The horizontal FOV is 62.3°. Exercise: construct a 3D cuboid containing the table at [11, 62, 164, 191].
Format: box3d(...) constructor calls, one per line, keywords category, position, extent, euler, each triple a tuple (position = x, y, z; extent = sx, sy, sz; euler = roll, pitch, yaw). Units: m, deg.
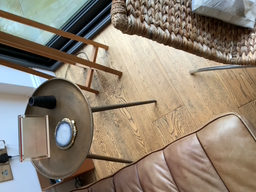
box3d(category="table", position=(-0.170, 0.160, 1.100), extent=(0.390, 0.580, 0.400), euler=(-33, 70, 23))
